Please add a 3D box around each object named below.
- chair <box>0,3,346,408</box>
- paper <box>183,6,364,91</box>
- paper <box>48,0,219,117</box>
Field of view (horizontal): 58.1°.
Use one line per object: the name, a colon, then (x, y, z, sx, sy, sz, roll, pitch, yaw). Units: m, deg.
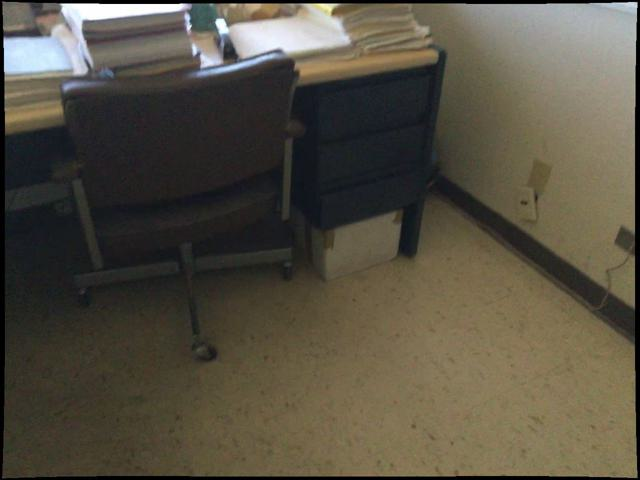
chair: (-0.419, -0.150, 1.700, 0.709, 0.841, 0.650, -17, 39, -25)
paper: (-0.150, -0.571, 1.670, 0.339, 0.070, 0.480, -17, 39, -25)
paper: (-0.449, -0.471, 1.380, 0.289, 0.190, 0.340, -17, 39, -25)
